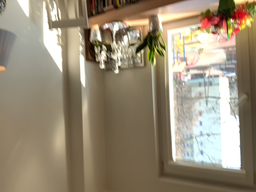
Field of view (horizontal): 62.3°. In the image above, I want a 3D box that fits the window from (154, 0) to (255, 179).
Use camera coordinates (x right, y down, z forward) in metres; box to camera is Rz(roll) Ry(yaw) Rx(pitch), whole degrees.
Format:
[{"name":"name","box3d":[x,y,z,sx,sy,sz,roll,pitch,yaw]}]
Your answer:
[{"name":"window","box3d":[1.410,-0.080,1.580,2.460,1.440,0.220,-3,179,30]}]
